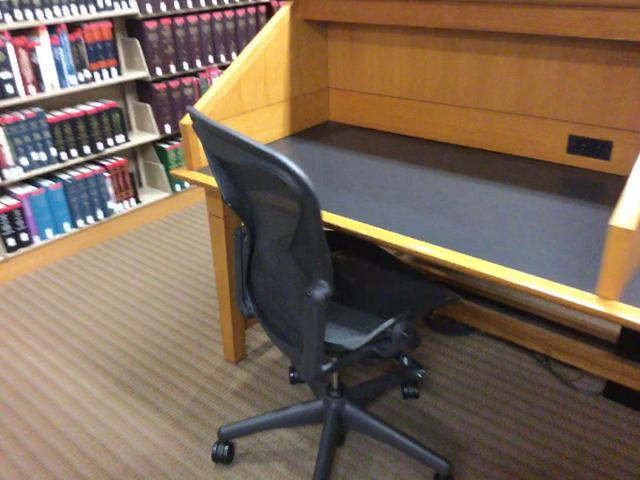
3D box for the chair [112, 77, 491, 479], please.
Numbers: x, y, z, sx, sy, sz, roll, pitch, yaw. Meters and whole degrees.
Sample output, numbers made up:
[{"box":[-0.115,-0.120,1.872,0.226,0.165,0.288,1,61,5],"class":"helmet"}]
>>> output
[{"box":[-0.010,0.150,1.540,0.610,1.000,0.630,17,32,36],"class":"chair"}]
